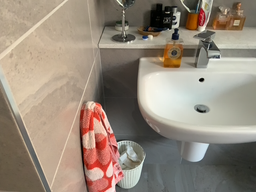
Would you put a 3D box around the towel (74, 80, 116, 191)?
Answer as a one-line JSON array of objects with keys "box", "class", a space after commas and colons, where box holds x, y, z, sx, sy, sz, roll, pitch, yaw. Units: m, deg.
[{"box": [-0.110, 0.240, 0.890, 0.090, 0.530, 0.310, 1, 36, 0], "class": "towel"}]

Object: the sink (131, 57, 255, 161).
[{"box": [0.310, 0.020, 0.900, 0.580, 0.160, 0.480, 1, 36, 1], "class": "sink"}]

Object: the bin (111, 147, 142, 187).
[{"box": [-0.010, 0.460, 1.370, 0.180, 0.190, 0.160, 1, 36, 0], "class": "bin"}]
